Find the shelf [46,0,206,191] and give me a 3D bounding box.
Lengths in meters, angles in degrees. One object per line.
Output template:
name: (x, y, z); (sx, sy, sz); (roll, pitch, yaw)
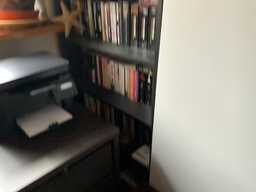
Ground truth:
shelf: (-0.080, -0.310, 1.240); (0.890, 2.000, 0.310); (25, 37, 38)
